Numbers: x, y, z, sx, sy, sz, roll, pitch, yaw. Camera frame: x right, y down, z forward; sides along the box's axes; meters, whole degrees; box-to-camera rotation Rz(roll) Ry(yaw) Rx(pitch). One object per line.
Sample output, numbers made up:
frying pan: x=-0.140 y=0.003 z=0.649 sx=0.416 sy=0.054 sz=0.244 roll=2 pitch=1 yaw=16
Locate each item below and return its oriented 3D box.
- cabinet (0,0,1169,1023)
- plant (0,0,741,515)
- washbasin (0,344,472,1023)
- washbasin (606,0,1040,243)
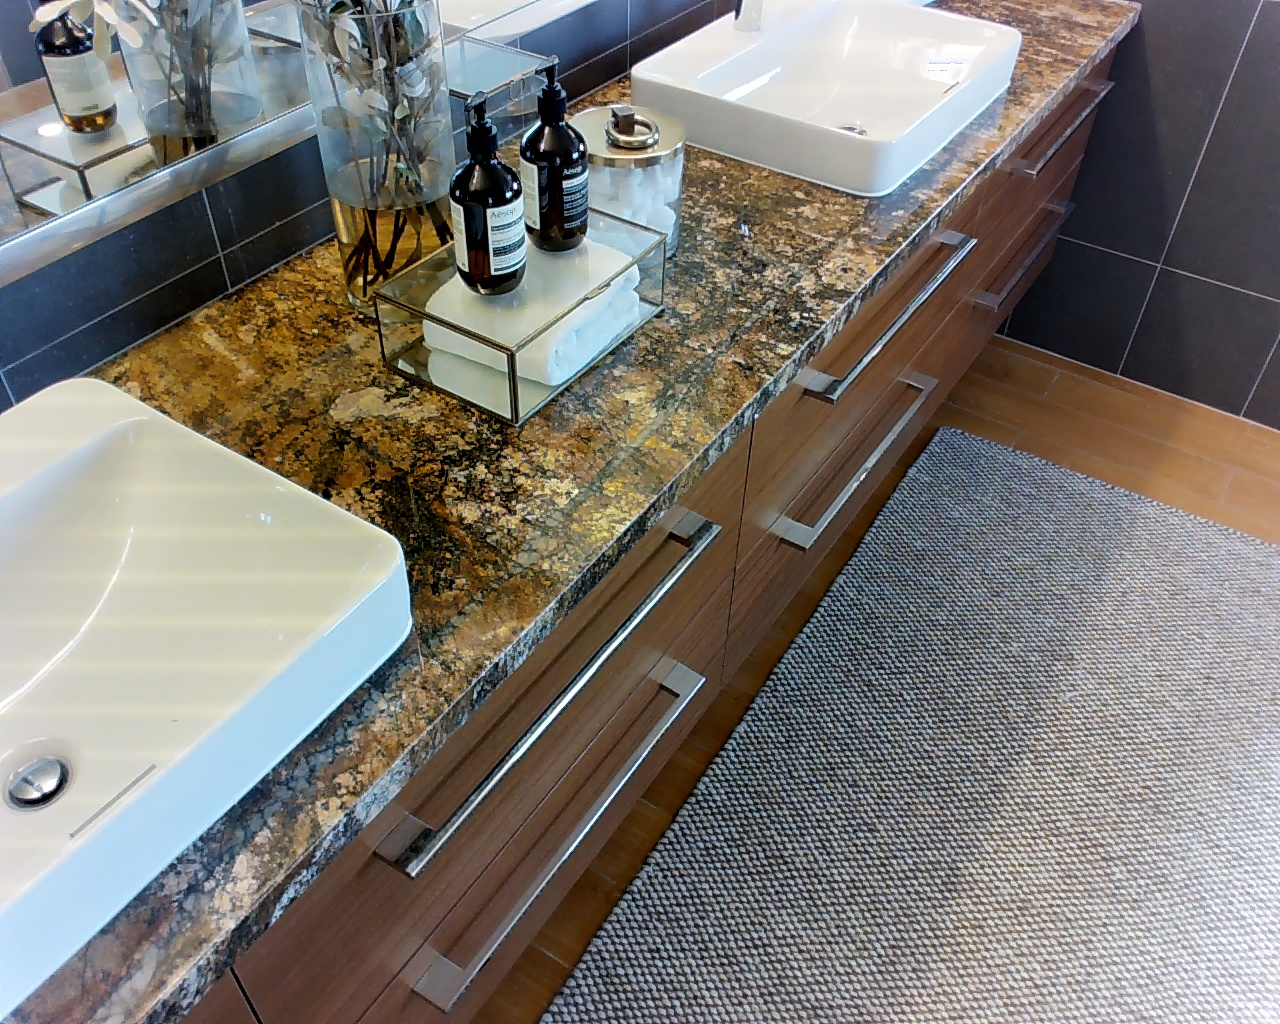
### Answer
cabinet: x=-0.070 y=-0.030 z=1.580 sx=0.650 sy=0.610 sz=3.120 roll=25 pitch=48 yaw=24
plant: x=-0.230 y=-0.530 z=1.110 sx=0.380 sy=0.720 sz=0.700 roll=25 pitch=48 yaw=23
washbasin: x=-0.530 y=0.150 z=0.860 sx=0.470 sy=0.140 sz=0.640 roll=25 pitch=48 yaw=23
washbasin: x=0.320 y=-0.720 z=1.820 sx=0.480 sy=0.150 sz=0.630 roll=25 pitch=48 yaw=23
